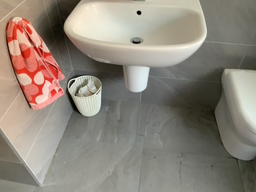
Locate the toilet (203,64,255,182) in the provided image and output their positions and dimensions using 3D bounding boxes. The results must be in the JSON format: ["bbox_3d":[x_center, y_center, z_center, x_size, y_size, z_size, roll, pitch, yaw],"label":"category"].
[{"bbox_3d":[0.720,0.160,1.280,0.360,0.460,0.510,6,46,5],"label":"toilet"}]

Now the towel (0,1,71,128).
[{"bbox_3d":[-0.420,-0.130,1.040,0.090,0.530,0.310,6,46,5],"label":"towel"}]
